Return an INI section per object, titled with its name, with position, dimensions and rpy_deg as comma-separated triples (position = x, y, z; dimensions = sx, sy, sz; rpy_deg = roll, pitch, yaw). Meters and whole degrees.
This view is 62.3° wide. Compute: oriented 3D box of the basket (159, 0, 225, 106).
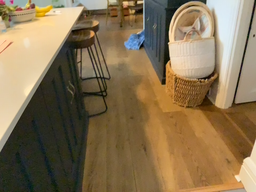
[basket]
position = 0.590, -0.460, 2.180
dimensions = 0.390, 0.960, 0.510
rpy_deg = -5, 30, -5
